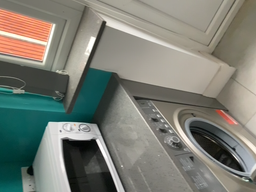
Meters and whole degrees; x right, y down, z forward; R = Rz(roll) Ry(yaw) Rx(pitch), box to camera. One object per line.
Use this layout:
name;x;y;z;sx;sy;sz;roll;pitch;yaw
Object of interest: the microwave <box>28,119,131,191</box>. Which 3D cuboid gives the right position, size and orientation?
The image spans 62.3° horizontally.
microwave;-0.240;0.390;0.930;0.360;0.260;0.440;-61;41;27
